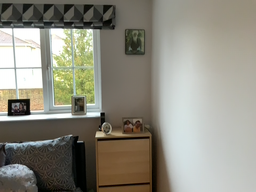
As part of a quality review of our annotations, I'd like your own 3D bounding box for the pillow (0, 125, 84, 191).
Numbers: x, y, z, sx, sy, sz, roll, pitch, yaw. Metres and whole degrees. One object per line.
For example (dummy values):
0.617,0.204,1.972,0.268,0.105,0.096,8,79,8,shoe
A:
-0.670,0.560,1.630,0.510,0.470,0.220,-22,9,-10,pillow
